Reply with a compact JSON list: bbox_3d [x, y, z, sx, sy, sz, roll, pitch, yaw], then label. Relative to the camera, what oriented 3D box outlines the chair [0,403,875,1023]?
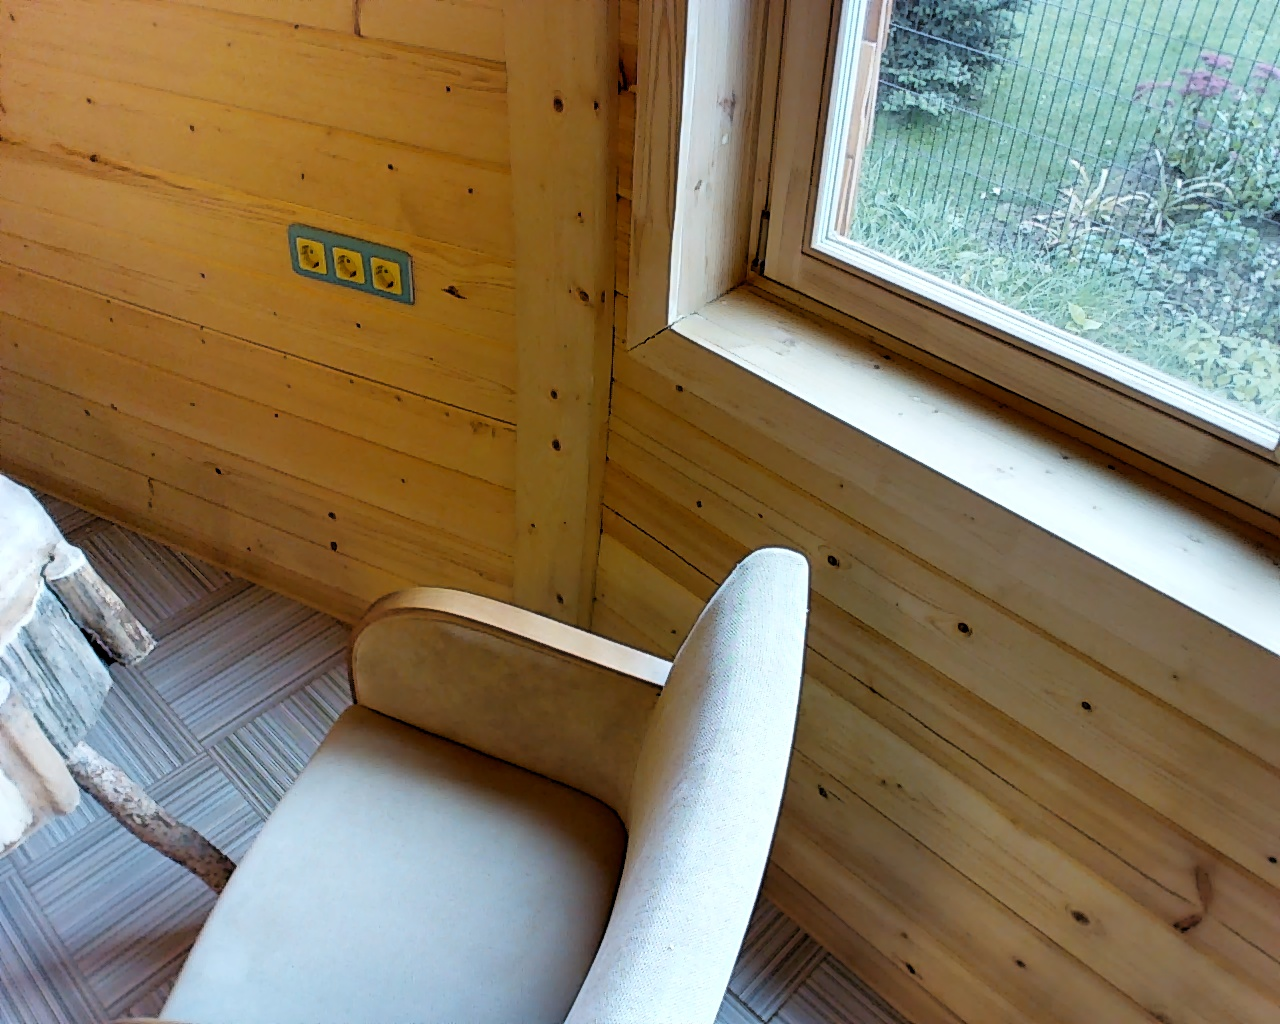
[{"bbox_3d":[-0.190,0.480,1.200,0.670,0.850,0.690,12,43,13],"label":"chair"}]
